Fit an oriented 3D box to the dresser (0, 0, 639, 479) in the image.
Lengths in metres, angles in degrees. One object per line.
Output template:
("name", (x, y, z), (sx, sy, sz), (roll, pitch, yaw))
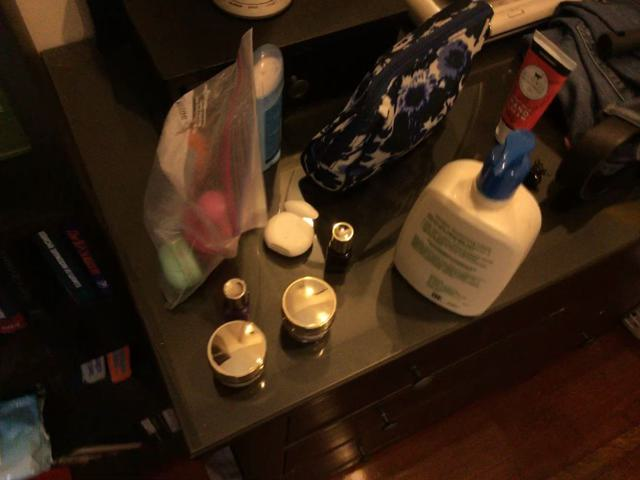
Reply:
("dresser", (0.250, 0.030, 1.060), (1.070, 1.020, 0.540), (-23, 62, -15))
